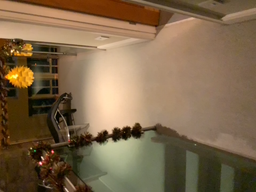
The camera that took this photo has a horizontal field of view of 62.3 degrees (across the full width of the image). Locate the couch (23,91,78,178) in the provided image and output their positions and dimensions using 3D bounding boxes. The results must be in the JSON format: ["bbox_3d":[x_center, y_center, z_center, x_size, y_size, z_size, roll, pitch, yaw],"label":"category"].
[{"bbox_3d":[-1.500,0.700,4.020,0.600,0.670,1.470,-29,70,52],"label":"couch"}]
